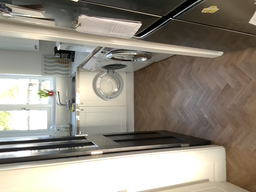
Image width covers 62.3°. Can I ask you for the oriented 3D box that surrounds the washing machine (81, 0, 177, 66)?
[{"bbox_3d":[-0.010,-0.730,2.380,0.600,0.910,0.640,177,94,-67],"label":"washing machine"}]
